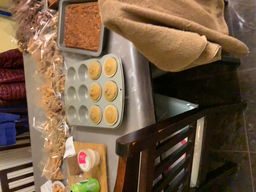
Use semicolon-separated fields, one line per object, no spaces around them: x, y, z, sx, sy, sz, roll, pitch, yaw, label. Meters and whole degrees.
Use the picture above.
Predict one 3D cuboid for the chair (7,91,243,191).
0.080;0.240;1.010;0.560;1.010;0.470;6;96;42;chair
